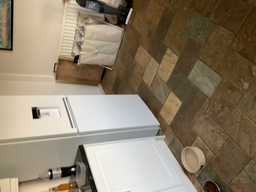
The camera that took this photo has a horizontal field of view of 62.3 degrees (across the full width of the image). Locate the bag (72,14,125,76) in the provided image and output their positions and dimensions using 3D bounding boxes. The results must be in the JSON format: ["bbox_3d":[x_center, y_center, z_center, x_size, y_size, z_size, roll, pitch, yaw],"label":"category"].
[{"bbox_3d":[-0.450,-0.720,3.100,0.360,0.520,0.740,57,136,44],"label":"bag"}]
